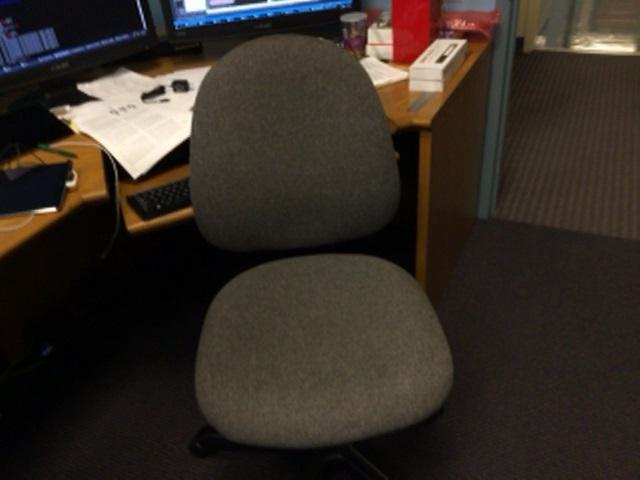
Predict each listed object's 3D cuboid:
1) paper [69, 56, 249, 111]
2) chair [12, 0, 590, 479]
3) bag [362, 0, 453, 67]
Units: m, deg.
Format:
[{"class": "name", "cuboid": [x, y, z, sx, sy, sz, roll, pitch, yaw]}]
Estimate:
[{"class": "paper", "cuboid": [-0.490, -0.490, 1.780, 0.460, 0.050, 0.280, 11, 35, 22]}, {"class": "chair", "cuboid": [-0.030, 0.110, 1.200, 0.640, 1.060, 0.680, -8, 33, -7]}, {"class": "bag", "cuboid": [0.280, -0.710, 1.810, 0.200, 0.240, 0.290, 11, 36, 23]}]
